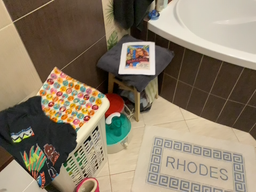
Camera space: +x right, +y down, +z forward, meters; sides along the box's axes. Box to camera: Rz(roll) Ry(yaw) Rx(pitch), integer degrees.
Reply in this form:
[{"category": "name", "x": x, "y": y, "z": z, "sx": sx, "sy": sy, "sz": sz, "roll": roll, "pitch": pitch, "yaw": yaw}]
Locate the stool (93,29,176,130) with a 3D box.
[{"category": "stool", "x": 0.050, "y": -0.110, "z": 1.510, "sx": 0.370, "sy": 0.500, "sz": 0.370, "roll": 27, "pitch": 55, "yaw": 22}]
